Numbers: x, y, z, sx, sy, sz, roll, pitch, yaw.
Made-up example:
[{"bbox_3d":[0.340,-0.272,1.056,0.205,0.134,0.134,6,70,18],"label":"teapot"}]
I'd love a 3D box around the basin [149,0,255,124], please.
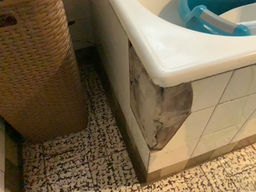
[{"bbox_3d":[0.430,-0.230,0.880,0.530,0.330,0.450,-16,54,-11],"label":"basin"}]
